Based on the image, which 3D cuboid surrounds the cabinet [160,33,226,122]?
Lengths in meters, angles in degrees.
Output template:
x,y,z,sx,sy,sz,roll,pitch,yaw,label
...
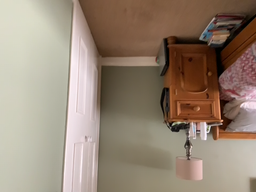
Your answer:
x,y,z,sx,sy,sz,roll,pitch,yaw,label
0.610,-0.150,2.160,0.480,0.800,0.520,0,170,1,cabinet
